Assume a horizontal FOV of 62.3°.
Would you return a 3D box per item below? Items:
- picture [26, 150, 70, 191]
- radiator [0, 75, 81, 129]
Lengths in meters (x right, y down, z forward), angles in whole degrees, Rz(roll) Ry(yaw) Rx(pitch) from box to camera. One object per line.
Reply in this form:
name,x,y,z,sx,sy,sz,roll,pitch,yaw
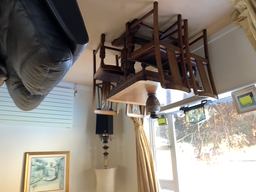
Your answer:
picture,-1.330,1.310,3.570,0.670,0.770,0.020,8,161,-32
radiator,-1.580,0.140,3.750,1.460,0.840,0.150,7,162,-29
